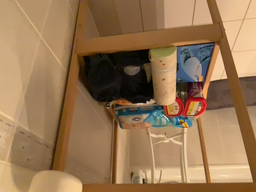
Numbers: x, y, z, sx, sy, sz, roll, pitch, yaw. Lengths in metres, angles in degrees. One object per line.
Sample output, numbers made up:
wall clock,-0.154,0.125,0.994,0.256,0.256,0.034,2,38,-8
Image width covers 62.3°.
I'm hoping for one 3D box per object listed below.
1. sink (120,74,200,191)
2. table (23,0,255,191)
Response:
sink,0.220,0.320,1.650,0.480,0.860,0.400,-4,152,8
table,0.110,0.050,1.000,0.610,0.870,0.800,-4,152,7
